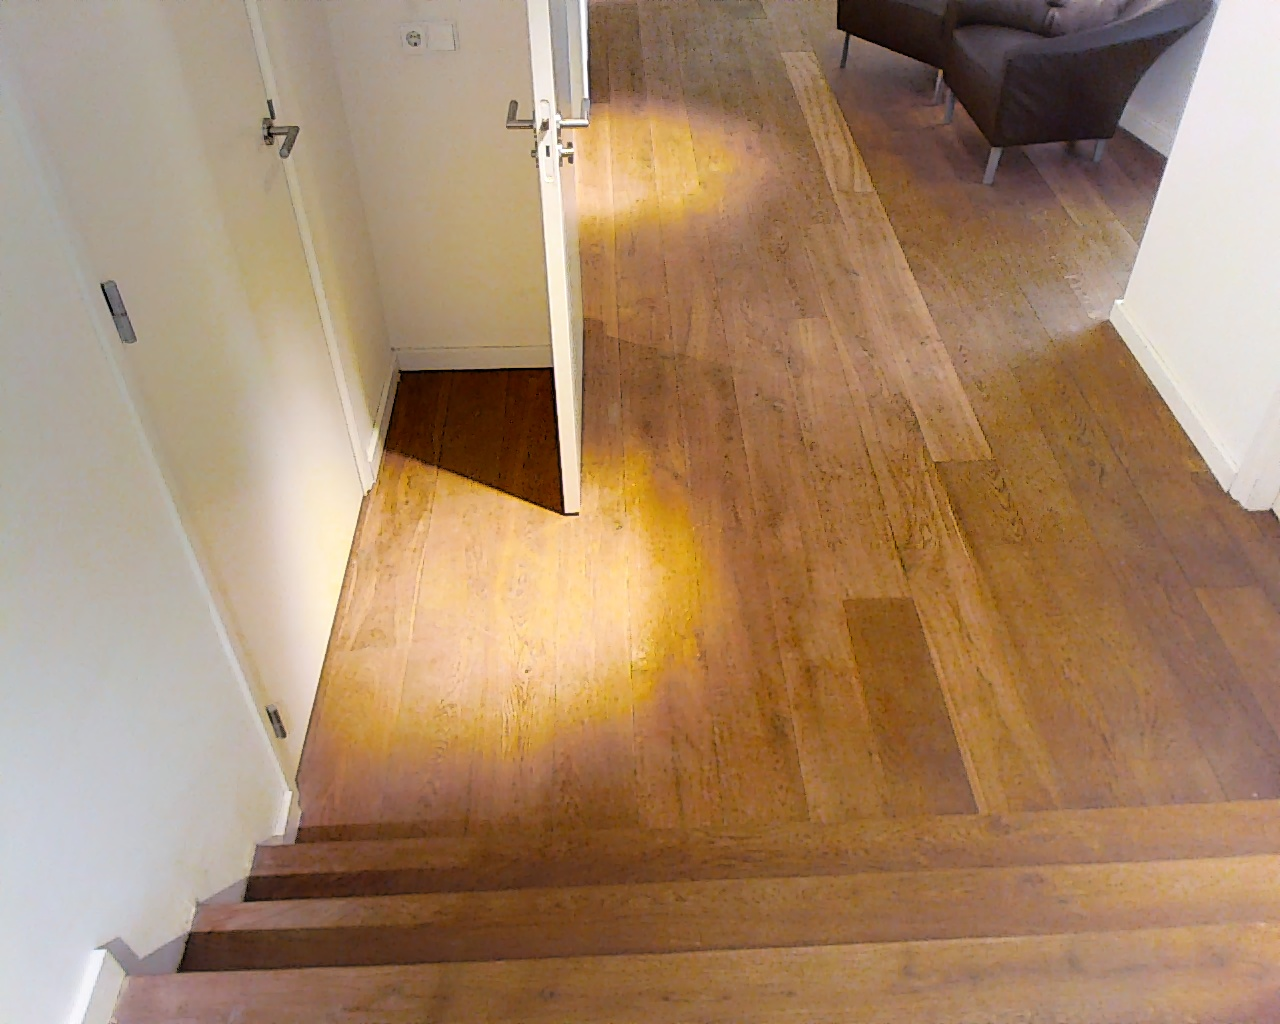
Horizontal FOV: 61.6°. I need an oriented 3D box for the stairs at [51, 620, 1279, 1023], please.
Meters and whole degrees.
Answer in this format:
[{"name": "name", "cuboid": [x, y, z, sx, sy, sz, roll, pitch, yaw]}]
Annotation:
[{"name": "stairs", "cuboid": [0.480, 0.600, 1.720, 2.420, 0.520, 0.630, -2, 42, -1]}]
